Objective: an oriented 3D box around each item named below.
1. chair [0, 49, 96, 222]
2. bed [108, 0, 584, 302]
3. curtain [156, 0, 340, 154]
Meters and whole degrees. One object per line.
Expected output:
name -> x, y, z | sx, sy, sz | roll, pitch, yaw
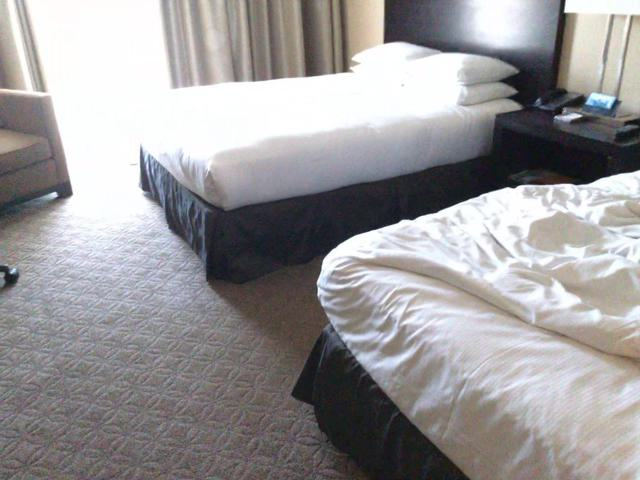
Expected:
chair -> -2.220, -0.700, 3.690 | 1.050, 0.880, 0.890 | 15, 29, 31
bed -> 0.070, -0.960, 3.480 | 2.130, 1.560, 1.710 | -14, 28, -26
curtain -> -0.560, -1.810, 4.690 | 1.410, 2.000, 0.400 | -11, 27, -21
